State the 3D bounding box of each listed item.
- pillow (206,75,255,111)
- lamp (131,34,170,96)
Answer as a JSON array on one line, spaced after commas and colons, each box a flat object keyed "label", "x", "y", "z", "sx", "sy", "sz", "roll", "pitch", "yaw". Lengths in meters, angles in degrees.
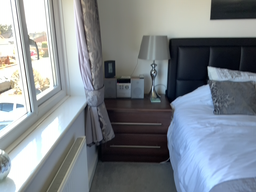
[{"label": "pillow", "x": 0.940, "y": -0.020, "z": 1.980, "sx": 0.330, "sy": 0.300, "sz": 0.310, "roll": 1, "pitch": -5, "yaw": 5}, {"label": "lamp", "x": 0.230, "y": -0.350, "z": 2.330, "sx": 0.390, "sy": 0.630, "sz": 0.300, "roll": 0, "pitch": 17, "yaw": 2}]
